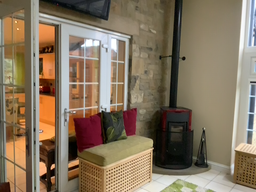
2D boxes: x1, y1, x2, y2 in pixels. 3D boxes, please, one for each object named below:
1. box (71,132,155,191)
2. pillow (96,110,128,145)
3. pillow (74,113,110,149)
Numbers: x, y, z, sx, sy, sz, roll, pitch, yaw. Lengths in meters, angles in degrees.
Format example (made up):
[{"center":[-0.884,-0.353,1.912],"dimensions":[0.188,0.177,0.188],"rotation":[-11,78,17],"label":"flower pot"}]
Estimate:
[{"center":[-0.180,0.930,2.890],"dimensions":[0.580,0.600,0.990],"rotation":[7,7,42],"label":"box"},{"center":[-0.220,0.430,2.970],"dimensions":[0.140,0.430,0.390],"rotation":[-13,-6,42],"label":"pillow"},{"center":[-0.460,0.440,2.770],"dimensions":[0.150,0.390,0.430],"rotation":[-5,-1,42],"label":"pillow"}]
